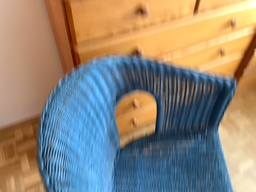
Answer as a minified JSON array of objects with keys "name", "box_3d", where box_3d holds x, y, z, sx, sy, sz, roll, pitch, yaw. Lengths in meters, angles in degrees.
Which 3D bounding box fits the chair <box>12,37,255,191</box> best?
[{"name":"chair","box_3d":[0.080,0.290,0.810,0.580,0.760,0.600,3,48,1]}]
